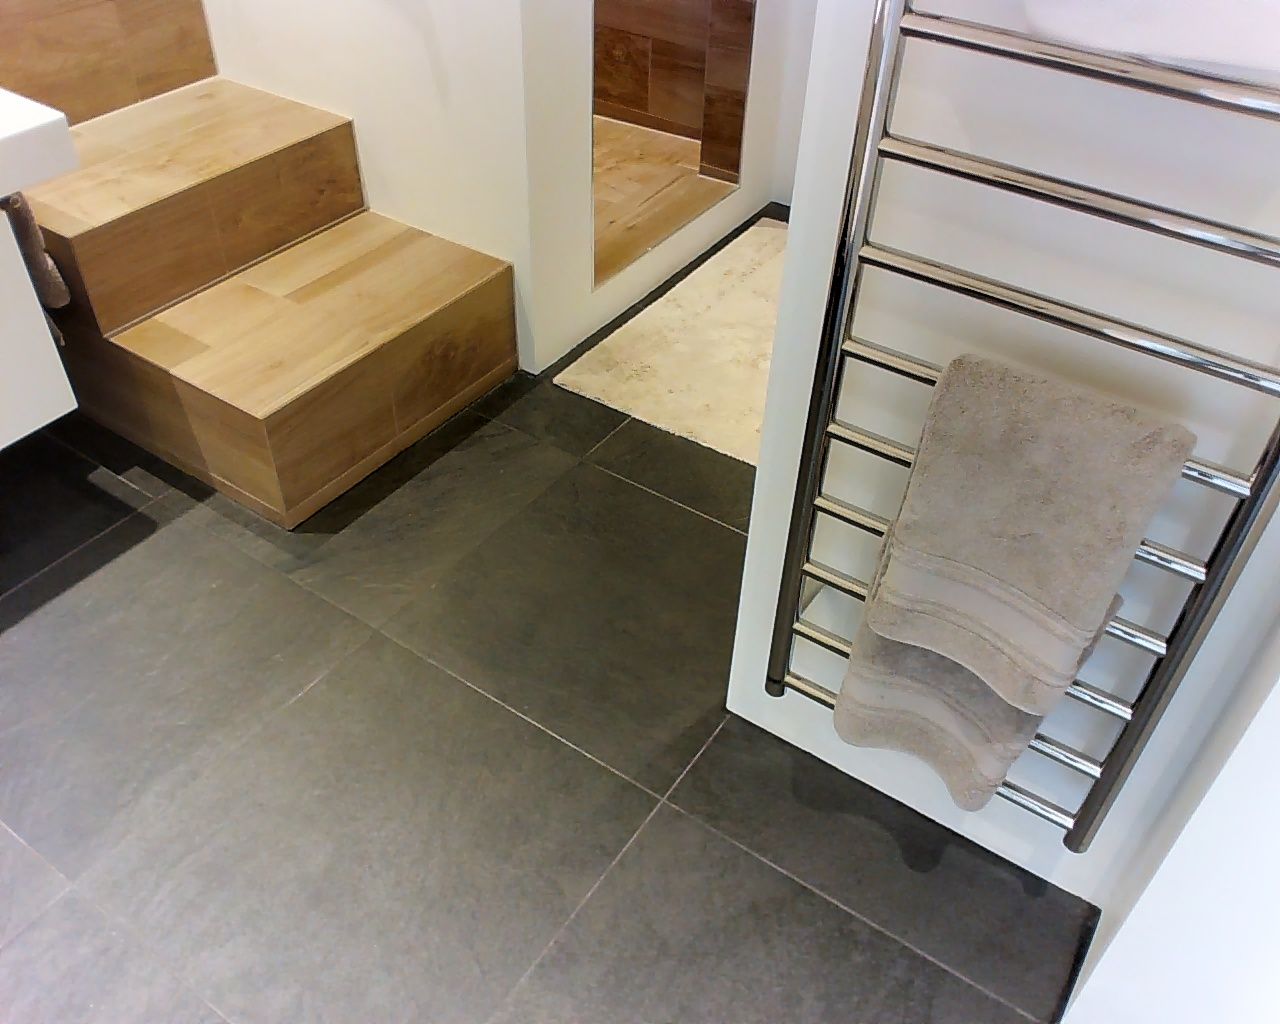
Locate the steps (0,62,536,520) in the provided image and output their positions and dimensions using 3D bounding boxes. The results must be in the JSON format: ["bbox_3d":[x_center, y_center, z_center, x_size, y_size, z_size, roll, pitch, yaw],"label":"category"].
[{"bbox_3d":[-0.800,-0.520,2.280,0.900,0.470,0.690,25,46,24],"label":"steps"}]

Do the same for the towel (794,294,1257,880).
[{"bbox_3d":[0.390,0.100,1.200,0.300,0.570,0.220,25,47,24],"label":"towel"}]
